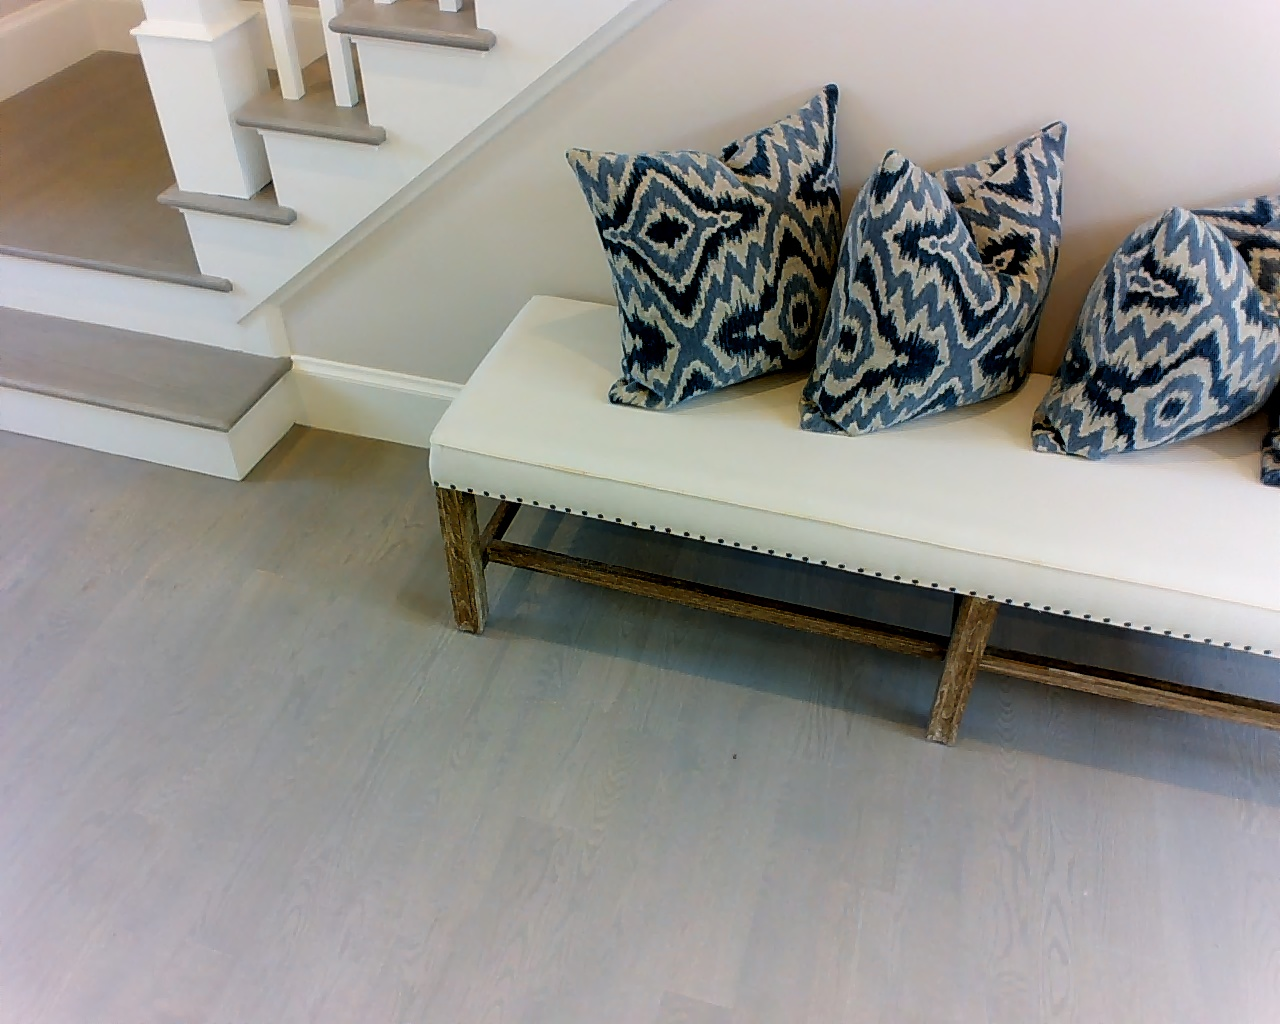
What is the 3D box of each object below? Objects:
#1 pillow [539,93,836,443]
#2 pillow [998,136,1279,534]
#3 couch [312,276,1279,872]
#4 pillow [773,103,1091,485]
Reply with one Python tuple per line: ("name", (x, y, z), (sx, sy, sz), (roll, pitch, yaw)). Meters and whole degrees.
("pillow", (0.080, -0.410, 1.800), (0.390, 0.420, 0.310), (12, 43, 12))
("pillow", (0.810, -0.270, 1.650), (0.390, 0.460, 0.290), (12, 42, 12))
("couch", (0.500, 0.090, 1.920), (2.020, 0.490, 0.550), (12, 43, 12))
("pillow", (0.450, -0.350, 1.720), (0.380, 0.440, 0.340), (11, 42, 11))
